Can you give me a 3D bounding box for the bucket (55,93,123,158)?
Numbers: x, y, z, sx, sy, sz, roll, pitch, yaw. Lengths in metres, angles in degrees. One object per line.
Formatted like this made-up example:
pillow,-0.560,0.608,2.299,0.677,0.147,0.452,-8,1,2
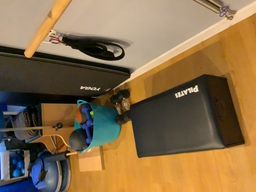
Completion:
bucket,-0.390,0.290,2.080,0.390,0.500,0.540,-17,75,49
